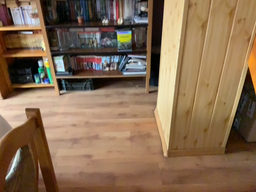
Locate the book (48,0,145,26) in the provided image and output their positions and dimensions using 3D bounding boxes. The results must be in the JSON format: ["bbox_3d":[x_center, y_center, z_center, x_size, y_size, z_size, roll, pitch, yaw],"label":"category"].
[{"bbox_3d":[-0.320,-0.930,2.320,1.000,0.250,0.170,-2,31,-2],"label":"book"}]

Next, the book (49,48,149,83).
[{"bbox_3d":[-0.320,-0.370,2.510,1.080,0.260,0.290,-4,31,-5],"label":"book"}]

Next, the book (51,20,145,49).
[{"bbox_3d":[-0.320,-0.710,2.430,1.000,0.240,0.230,-2,31,-2],"label":"book"}]

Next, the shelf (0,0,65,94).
[{"bbox_3d":[-1.190,-0.710,2.430,0.630,1.390,0.340,-1,31,-1],"label":"shelf"}]
